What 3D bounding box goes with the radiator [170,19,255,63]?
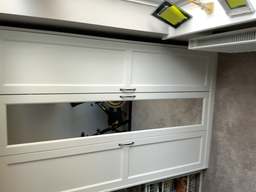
[{"bbox_3d":[0.890,-0.320,1.270,1.120,0.700,0.150,10,101,61],"label":"radiator"}]
